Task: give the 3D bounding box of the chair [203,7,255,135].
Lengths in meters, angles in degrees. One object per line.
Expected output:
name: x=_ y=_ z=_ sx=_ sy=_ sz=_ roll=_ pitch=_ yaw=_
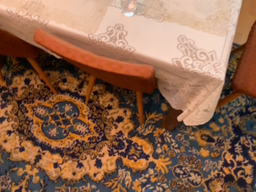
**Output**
chair: x=0.800 y=-0.190 z=1.050 sx=0.430 sy=0.790 sz=0.570 roll=24 pitch=71 yaw=8
